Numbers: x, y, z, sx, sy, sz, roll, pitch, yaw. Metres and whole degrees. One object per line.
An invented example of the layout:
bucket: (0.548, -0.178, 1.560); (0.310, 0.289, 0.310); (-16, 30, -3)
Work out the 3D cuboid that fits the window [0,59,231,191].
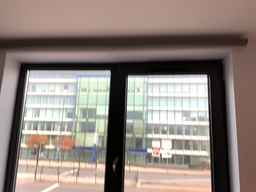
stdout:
window: (-0.150, 0.460, 1.530); (1.640, 1.450, 0.110); (0, -11, 8)
